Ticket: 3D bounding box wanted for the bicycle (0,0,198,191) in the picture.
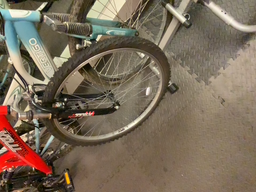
[{"bbox_3d":[-0.510,0.300,1.170,0.550,0.720,1.720,48,112,21],"label":"bicycle"}]
